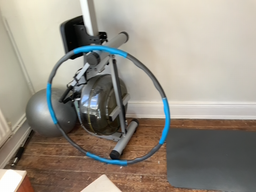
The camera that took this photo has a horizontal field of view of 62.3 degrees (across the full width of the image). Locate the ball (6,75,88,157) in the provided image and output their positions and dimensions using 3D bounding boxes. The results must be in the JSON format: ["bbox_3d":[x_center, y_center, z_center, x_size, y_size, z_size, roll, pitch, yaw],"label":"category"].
[{"bbox_3d":[-0.710,0.150,1.910,0.490,0.440,0.410,25,43,36],"label":"ball"}]
